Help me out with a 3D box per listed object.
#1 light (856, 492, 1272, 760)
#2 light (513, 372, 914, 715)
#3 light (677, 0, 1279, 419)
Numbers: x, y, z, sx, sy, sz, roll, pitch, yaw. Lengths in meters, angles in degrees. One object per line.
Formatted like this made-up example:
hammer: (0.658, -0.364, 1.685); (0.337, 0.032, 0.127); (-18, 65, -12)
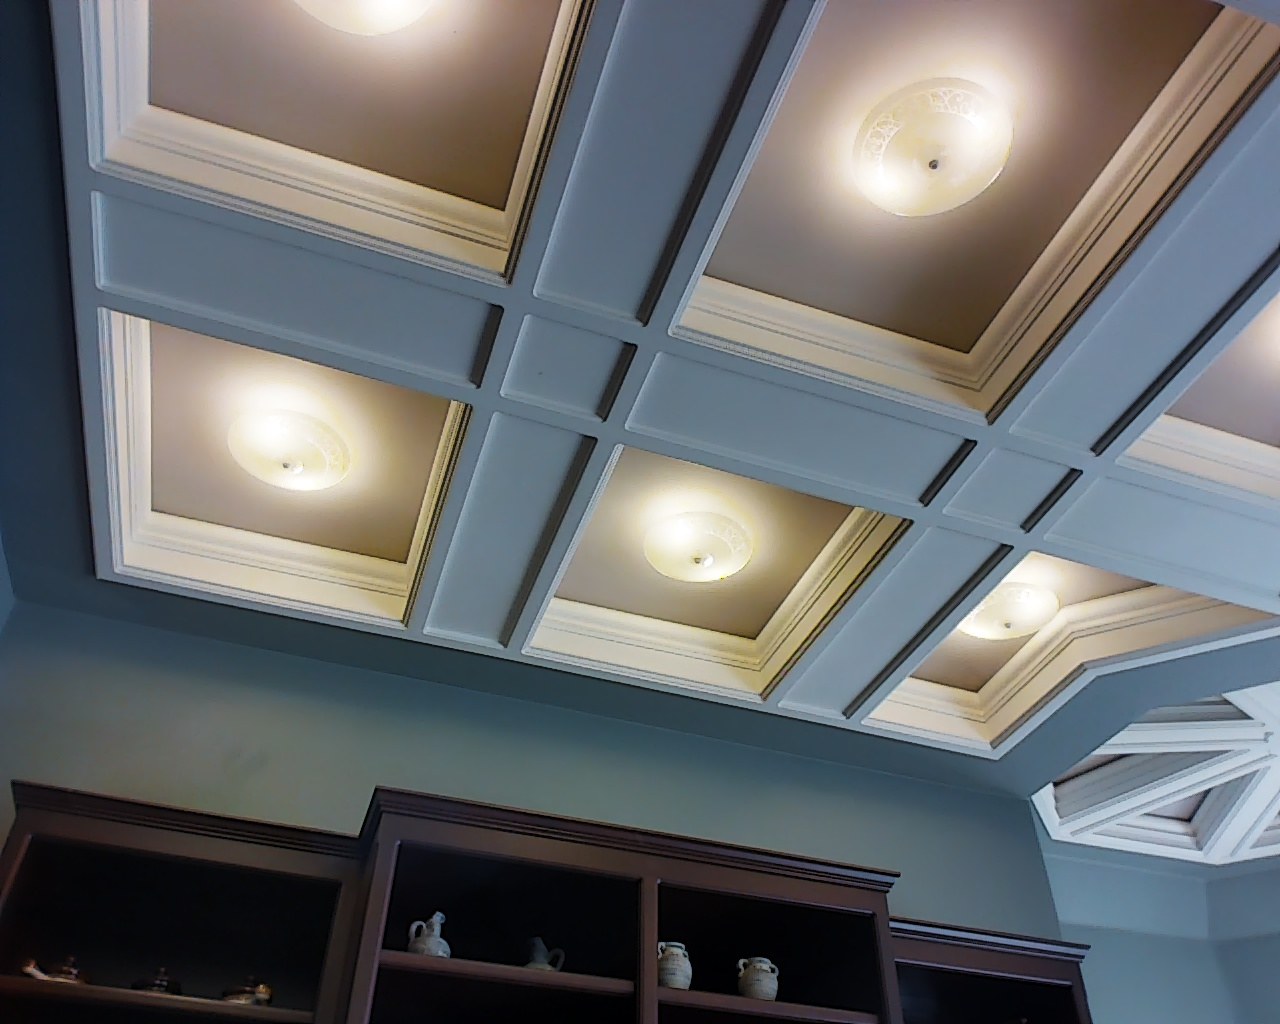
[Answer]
light: (1.330, 0.420, 3.510); (0.840, 0.270, 0.960); (11, -42, -16)
light: (0.170, 0.150, 3.210); (0.850, 0.310, 1.000); (14, -43, -13)
light: (0.620, -0.710, 2.210); (0.780, 0.260, 0.990); (12, -43, -15)
